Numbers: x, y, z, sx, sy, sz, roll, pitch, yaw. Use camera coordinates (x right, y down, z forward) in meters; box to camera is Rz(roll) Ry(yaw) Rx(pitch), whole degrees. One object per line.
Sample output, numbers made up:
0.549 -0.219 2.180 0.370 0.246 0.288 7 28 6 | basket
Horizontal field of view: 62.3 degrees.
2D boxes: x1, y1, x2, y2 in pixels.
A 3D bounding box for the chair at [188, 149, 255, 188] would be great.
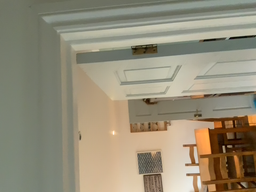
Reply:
1.570 1.160 3.460 0.570 1.000 0.450 71 -165 -81 | chair
